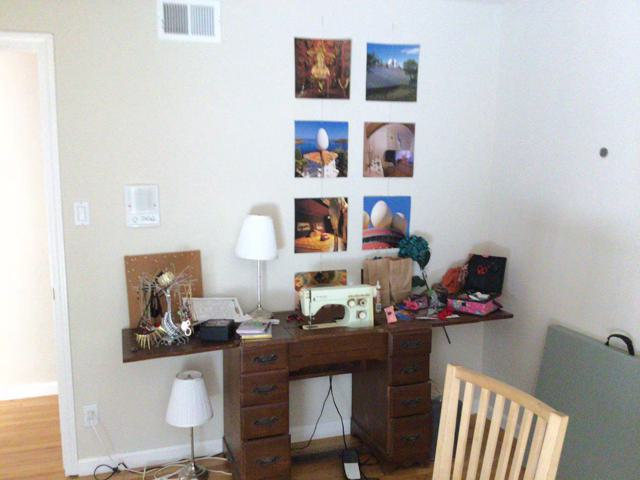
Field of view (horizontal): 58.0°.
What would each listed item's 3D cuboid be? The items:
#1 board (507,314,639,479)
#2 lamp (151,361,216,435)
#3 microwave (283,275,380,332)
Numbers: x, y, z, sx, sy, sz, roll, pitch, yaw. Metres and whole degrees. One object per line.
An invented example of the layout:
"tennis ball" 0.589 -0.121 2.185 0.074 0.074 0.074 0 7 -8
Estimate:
"board" 1.230 0.820 2.510 0.190 0.770 1.020 -1 7 -19
"lamp" -0.670 0.760 2.820 0.280 0.230 0.300 -1 7 -19
"microwave" 0.050 0.310 2.910 0.410 0.210 0.290 -1 7 -19
